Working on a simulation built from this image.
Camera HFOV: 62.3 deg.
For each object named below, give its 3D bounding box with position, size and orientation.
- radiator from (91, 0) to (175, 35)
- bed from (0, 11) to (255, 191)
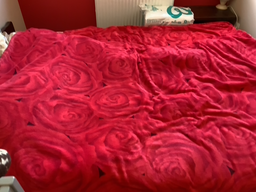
[{"bbox_3d":[0.050,-0.940,2.210,0.850,0.560,0.130,-3,43,-5],"label":"radiator"},{"bbox_3d":[0.040,-0.010,1.480,2.060,0.520,1.650,-2,43,-5],"label":"bed"}]
